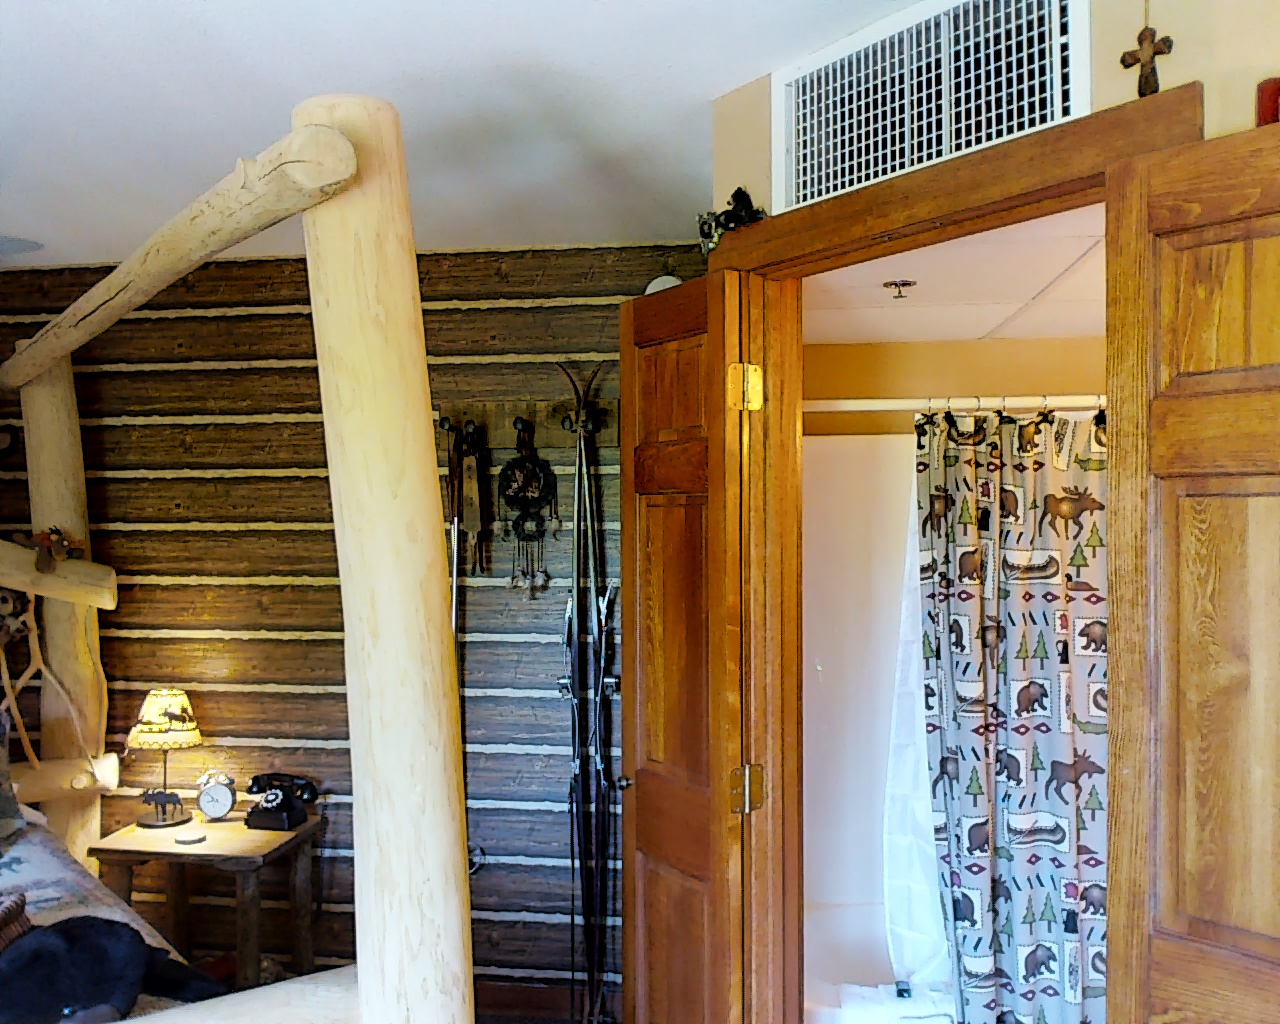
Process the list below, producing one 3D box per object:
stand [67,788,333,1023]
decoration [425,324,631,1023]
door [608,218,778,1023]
[{"bbox_3d":[-1.330,1.220,3.310,0.610,0.610,0.450,0,0,7],"label":"stand"},{"bbox_3d":[-0.340,0.500,3.320,0.590,2.110,0.180,0,0,7],"label":"decoration"},{"bbox_3d":[0.100,0.490,2.250,0.110,2.090,0.440,-1,1,-33],"label":"door"}]
